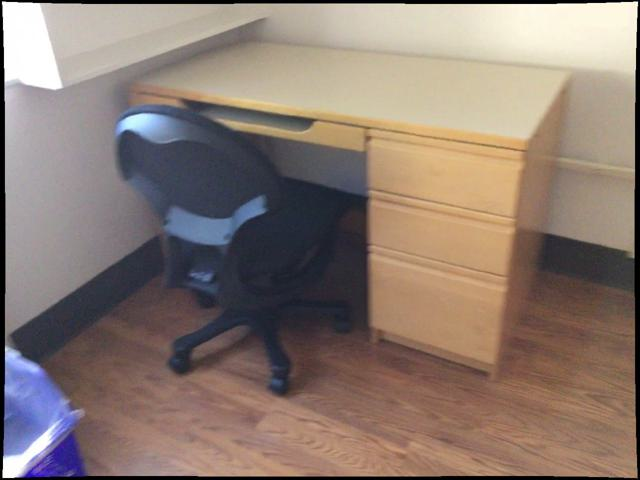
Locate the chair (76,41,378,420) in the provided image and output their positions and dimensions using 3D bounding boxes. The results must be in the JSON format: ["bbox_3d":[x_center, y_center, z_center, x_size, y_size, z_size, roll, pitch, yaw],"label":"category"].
[{"bbox_3d":[-0.200,-0.060,1.700,0.520,0.841,0.590,15,36,23],"label":"chair"}]
